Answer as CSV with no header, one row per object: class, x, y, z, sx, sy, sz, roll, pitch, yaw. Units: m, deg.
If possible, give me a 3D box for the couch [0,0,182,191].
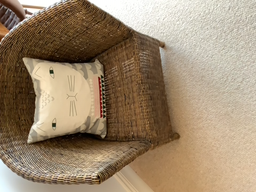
couch,-0.220,-0.010,1.110,0.660,0.740,0.680,-11,83,35
